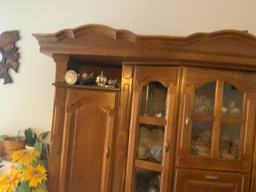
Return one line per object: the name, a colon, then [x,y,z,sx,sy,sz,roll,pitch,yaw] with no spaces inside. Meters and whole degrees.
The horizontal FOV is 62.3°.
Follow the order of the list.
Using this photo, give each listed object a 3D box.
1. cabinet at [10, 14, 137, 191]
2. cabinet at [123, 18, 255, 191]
cabinet: [-0.340,0.180,1.590,0.690,1.310,0.590,5,0,1]
cabinet: [0.610,0.250,1.560,1.220,1.330,0.630,5,0,1]
